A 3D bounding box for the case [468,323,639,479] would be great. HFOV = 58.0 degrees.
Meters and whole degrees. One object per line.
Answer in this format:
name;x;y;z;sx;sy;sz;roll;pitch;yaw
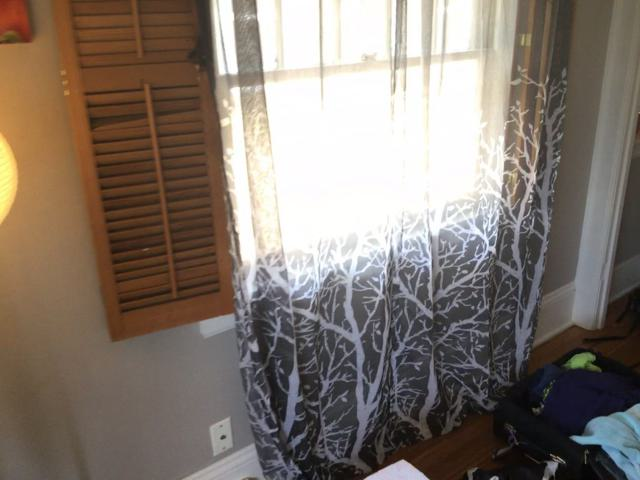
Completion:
case;1.030;0.640;2.010;0.620;0.240;0.770;-18;25;-33
